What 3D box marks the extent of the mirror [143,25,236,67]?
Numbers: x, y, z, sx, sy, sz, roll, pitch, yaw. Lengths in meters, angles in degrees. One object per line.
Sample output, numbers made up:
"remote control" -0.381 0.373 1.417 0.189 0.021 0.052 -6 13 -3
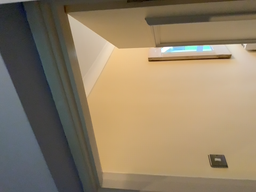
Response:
"mirror" 0.710 -0.700 2.790 1.230 0.950 0.140 -76 -15 -58
